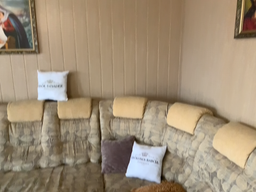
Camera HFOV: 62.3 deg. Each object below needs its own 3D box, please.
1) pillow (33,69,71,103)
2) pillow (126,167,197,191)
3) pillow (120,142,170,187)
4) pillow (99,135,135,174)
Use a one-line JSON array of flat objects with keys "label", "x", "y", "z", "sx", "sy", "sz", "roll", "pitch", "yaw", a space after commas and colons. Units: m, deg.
[{"label": "pillow", "x": -0.860, "y": -0.120, "z": 2.430, "sx": 0.360, "sy": 0.350, "sz": 0.170, "roll": -2, "pitch": 13, "yaw": -9}, {"label": "pillow", "x": 0.270, "y": 0.790, "z": 1.760, "sx": 0.470, "sy": 0.100, "sz": 0.440, "roll": -4, "pitch": 14, "yaw": -17}, {"label": "pillow", "x": 0.160, "y": 0.680, "z": 2.090, "sx": 0.370, "sy": 0.300, "sz": 0.180, "roll": 29, "pitch": 50, "yaw": 5}, {"label": "pillow", "x": -0.120, "y": 0.640, "z": 2.280, "sx": 0.270, "sy": 0.340, "sz": 0.210, "roll": 22, "pitch": 50, "yaw": -1}]
